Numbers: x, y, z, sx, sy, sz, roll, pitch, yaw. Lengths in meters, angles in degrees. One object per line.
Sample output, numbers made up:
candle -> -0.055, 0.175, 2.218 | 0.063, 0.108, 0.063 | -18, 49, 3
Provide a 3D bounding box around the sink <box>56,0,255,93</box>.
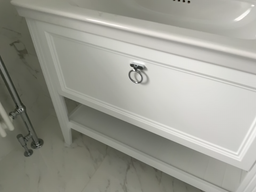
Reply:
sink -> 0.120, -0.260, 0.750 | 0.640, 0.140, 0.340 | 20, 45, 22
